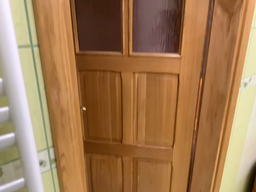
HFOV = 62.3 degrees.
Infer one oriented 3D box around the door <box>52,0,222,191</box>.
[{"bbox_3d":[0.030,0.070,1.300,0.850,2.070,0.070,3,21,7],"label":"door"}]
